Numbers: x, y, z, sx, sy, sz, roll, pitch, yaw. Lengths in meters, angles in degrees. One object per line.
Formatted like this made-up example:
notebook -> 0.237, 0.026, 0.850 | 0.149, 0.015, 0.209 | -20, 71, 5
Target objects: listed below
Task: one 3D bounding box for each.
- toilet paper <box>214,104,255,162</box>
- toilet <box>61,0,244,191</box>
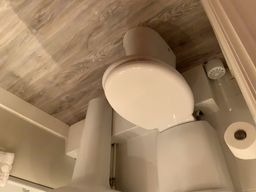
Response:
toilet paper -> 0.450, 0.150, 0.850 | 0.130, 0.160, 0.130 | -23, 135, 25
toilet -> 0.150, 0.060, 1.010 | 0.380, 0.810, 0.670 | -25, 134, 27
